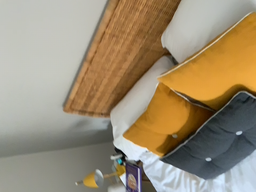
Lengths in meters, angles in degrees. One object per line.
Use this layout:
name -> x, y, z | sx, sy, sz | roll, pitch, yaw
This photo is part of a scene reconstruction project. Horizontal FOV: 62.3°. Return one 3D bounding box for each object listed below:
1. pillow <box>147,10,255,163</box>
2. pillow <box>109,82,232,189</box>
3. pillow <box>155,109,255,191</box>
pillow -> 0.390, 0.010, 0.820 | 0.390, 0.480, 0.150 | -34, 21, 37
pillow -> 0.210, 0.230, 1.090 | 0.390, 0.460, 0.140 | -36, 18, 29
pillow -> 0.410, 0.250, 0.900 | 0.590, 0.230, 0.060 | -41, 24, 31
